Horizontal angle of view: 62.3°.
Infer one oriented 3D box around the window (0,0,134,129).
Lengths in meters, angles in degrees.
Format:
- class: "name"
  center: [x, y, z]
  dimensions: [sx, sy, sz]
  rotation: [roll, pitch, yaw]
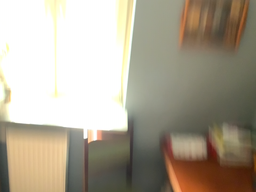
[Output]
- class: "window"
  center: [-0.540, -0.590, 1.480]
  dimensions: [1.140, 1.640, 0.170]
  rotation: [5, 18, -4]
